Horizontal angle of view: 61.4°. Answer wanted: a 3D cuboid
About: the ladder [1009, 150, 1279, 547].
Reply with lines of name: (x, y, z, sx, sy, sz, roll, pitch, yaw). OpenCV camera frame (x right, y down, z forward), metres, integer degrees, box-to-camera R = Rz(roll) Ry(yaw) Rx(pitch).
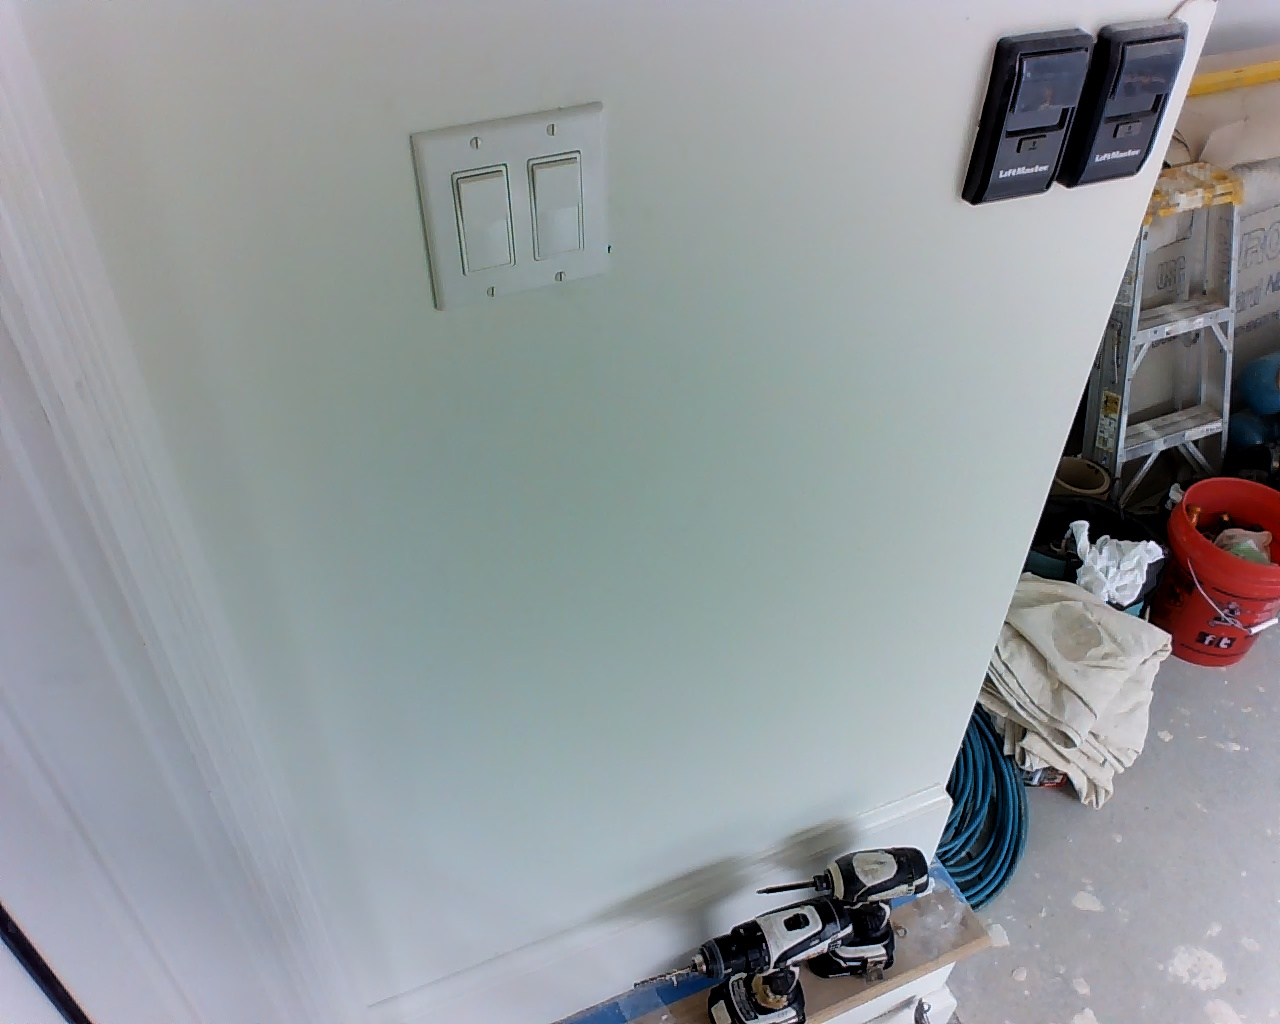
ladder: (1.350, -0.400, 2.780, 0.450, 0.900, 0.330, -15, 44, -18)

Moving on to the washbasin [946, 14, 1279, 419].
washbasin: (1.920, -0.960, 3.160, 1.800, 0.730, 0.680, -15, 44, -18)
